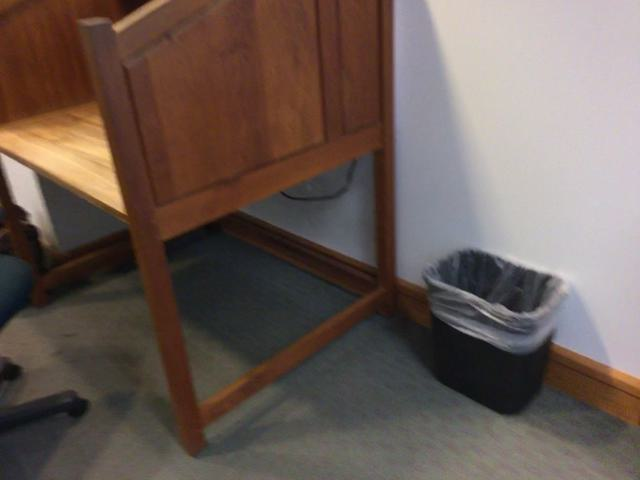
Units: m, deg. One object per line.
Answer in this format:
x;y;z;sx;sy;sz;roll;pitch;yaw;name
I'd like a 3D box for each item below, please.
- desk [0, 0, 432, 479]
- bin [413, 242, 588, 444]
-0.520;-0.320;1.970;1.030;1.510;1.390;-25;29;-37;desk
0.520;0.280;1.710;0.270;0.400;0.390;-23;28;-34;bin
